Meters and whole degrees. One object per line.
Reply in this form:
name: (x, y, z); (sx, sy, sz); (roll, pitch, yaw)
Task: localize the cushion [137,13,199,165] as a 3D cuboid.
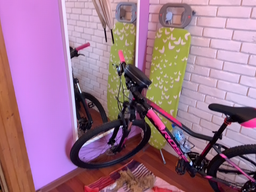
cushion: (0.310, -0.030, 1.900); (0.370, 1.310, 0.180); (22, 31, 38)
